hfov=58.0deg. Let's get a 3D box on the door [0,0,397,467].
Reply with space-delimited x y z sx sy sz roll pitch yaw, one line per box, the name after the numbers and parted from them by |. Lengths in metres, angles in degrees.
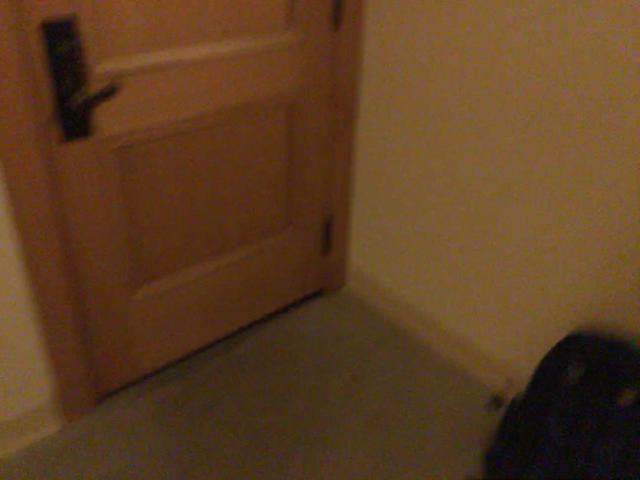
-0.290 -0.570 1.430 1.280 2.250 0.110 -15 33 -38 | door
